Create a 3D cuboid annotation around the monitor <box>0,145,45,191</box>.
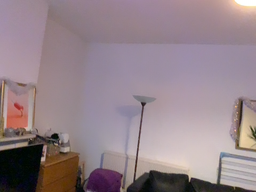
[{"bbox_3d":[-1.100,0.770,1.650,0.040,0.660,1.110,8,-4,19],"label":"monitor"}]
